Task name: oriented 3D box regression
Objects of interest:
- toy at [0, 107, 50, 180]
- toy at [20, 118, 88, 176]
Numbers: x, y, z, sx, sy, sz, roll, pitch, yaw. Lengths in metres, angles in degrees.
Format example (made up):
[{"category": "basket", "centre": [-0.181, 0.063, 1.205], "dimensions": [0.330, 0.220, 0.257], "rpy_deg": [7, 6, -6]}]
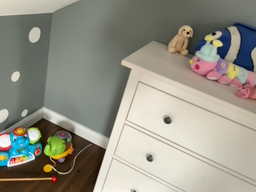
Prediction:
[{"category": "toy", "centre": [-0.770, 0.310, 1.460], "dimensions": [0.280, 0.250, 0.350], "rpy_deg": [21, 29, 4]}, {"category": "toy", "centre": [-0.530, 0.360, 1.580], "dimensions": [0.320, 0.100, 0.370], "rpy_deg": [22, 29, 6]}]
